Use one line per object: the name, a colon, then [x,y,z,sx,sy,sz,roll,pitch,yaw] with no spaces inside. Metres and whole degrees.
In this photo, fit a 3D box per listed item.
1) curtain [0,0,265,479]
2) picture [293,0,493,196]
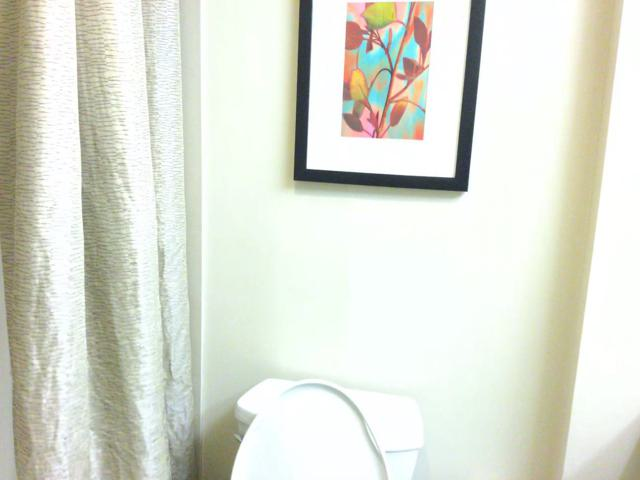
curtain: [-0.480,0.290,1.230,0.500,1.710,0.710,4,11,14]
picture: [0.150,-0.340,1.280,0.420,0.460,0.050,4,11,14]
